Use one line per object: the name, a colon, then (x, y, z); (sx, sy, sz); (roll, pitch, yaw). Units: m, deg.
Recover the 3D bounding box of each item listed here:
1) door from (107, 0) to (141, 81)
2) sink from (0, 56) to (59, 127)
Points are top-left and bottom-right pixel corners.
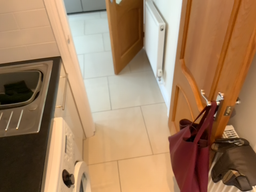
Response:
door: (-0.020, -1.140, 2.300); (0.040, 1.950, 0.750); (16, 46, 20)
sink: (-0.730, -0.030, 1.270); (0.540, 0.170, 0.410); (-7, 43, -4)
